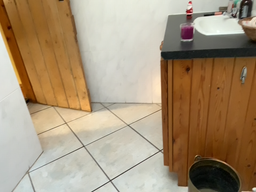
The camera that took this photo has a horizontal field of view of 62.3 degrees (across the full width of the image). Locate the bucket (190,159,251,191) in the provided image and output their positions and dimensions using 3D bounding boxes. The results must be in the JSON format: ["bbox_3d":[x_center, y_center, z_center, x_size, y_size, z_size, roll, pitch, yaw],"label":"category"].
[{"bbox_3d":[0.490,0.530,1.170,0.270,0.240,0.220,1,29,13],"label":"bucket"}]

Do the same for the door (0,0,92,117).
[{"bbox_3d":[-0.910,-0.680,2.040,0.890,1.910,0.070,7,31,22],"label":"door"}]
